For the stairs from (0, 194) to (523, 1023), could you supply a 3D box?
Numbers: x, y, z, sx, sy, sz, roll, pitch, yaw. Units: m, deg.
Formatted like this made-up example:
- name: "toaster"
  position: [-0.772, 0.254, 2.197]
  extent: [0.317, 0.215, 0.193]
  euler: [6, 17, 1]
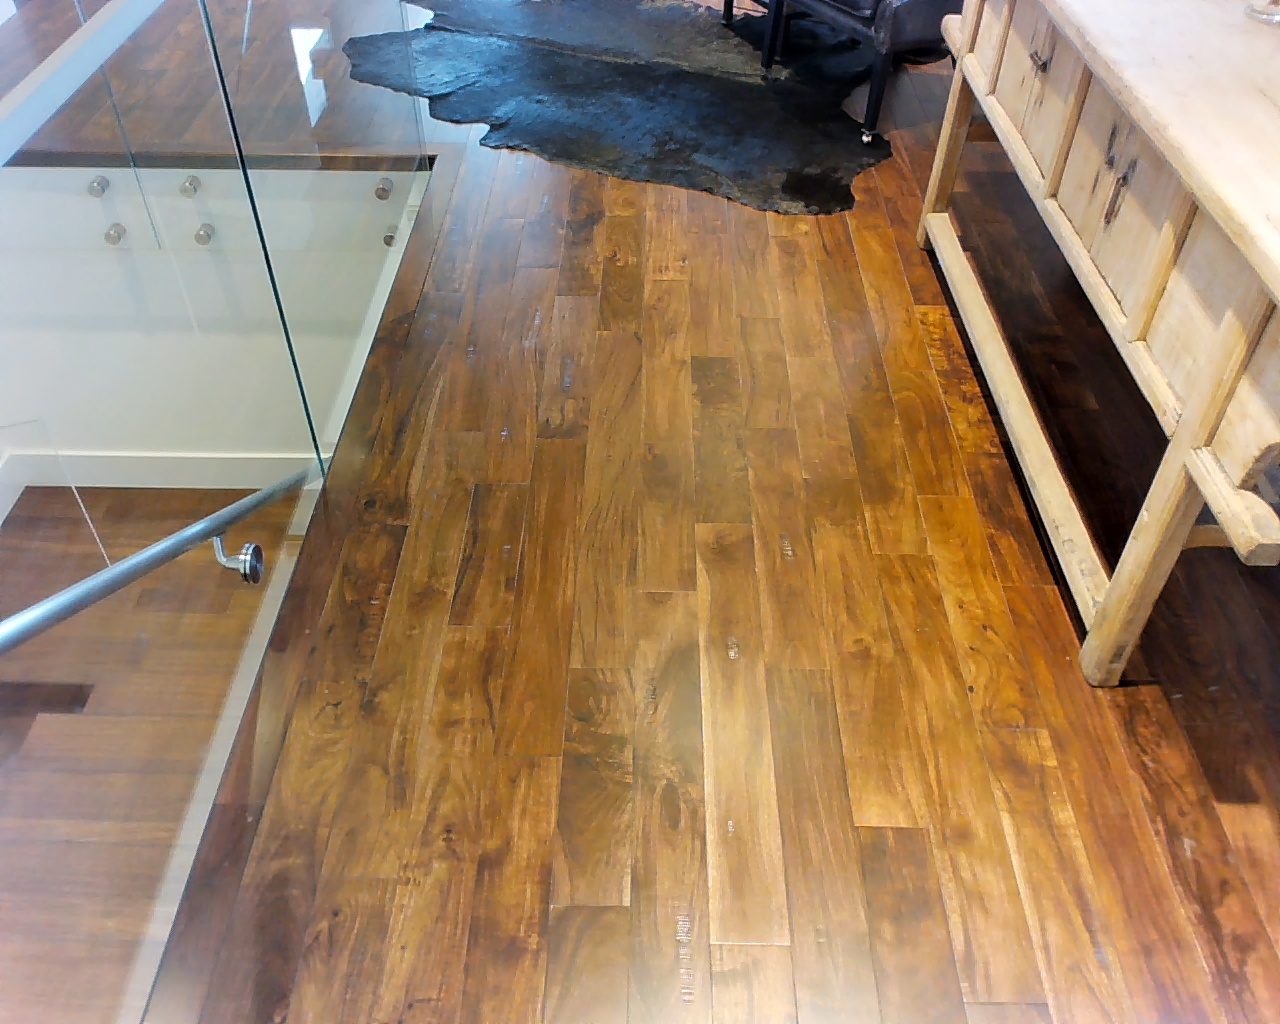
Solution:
- name: "stairs"
  position: [-1.670, 1.120, 3.520]
  extent: [2.040, 3.050, 3.140]
  euler: [1, 43, 1]
